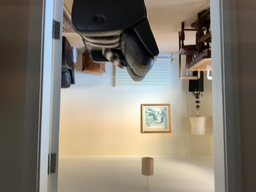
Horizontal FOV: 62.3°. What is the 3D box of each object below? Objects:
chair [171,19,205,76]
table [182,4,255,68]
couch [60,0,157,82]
[{"bbox_3d":[1.040,-0.830,3.740,0.450,0.870,0.480,-1,175,2],"label":"chair"},{"bbox_3d":[1.550,-0.900,3.410,1.110,0.760,0.790,0,177,-3],"label":"table"},{"bbox_3d":[-0.240,-0.800,3.120,1.060,0.990,1.510,-1,176,-2],"label":"couch"}]
